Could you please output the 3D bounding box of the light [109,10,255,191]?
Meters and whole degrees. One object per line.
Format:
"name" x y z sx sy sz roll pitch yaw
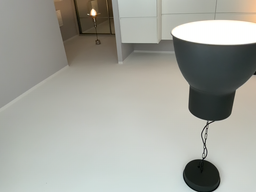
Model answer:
"light" 0.460 0.130 1.310 0.520 0.410 1.110 -46 -49 -8
